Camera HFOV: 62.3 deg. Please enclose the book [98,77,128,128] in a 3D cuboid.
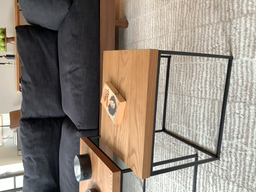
[{"bbox_3d":[-0.070,0.020,0.890,0.200,0.030,0.130,47,132,50],"label":"book"}]
